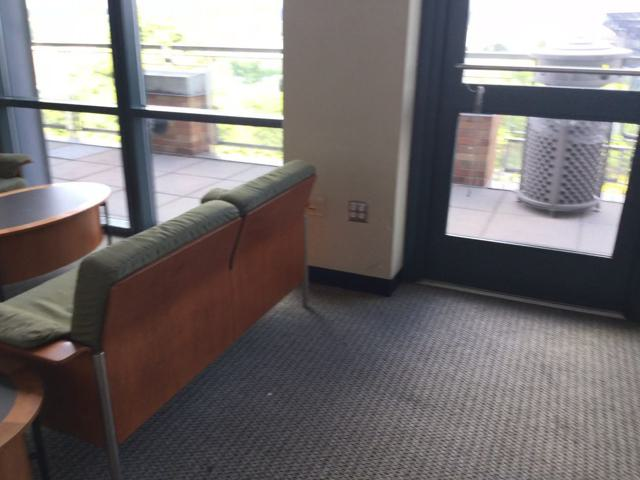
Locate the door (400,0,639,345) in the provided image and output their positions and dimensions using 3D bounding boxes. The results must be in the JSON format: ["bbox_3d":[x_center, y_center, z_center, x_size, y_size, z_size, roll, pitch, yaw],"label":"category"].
[{"bbox_3d":[1.010,-0.590,2.540,1.240,1.900,0.380,12,25,32],"label":"door"}]

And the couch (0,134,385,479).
[{"bbox_3d":[-0.500,0.130,2.350,0.780,0.750,1.760,12,25,32],"label":"couch"}]
